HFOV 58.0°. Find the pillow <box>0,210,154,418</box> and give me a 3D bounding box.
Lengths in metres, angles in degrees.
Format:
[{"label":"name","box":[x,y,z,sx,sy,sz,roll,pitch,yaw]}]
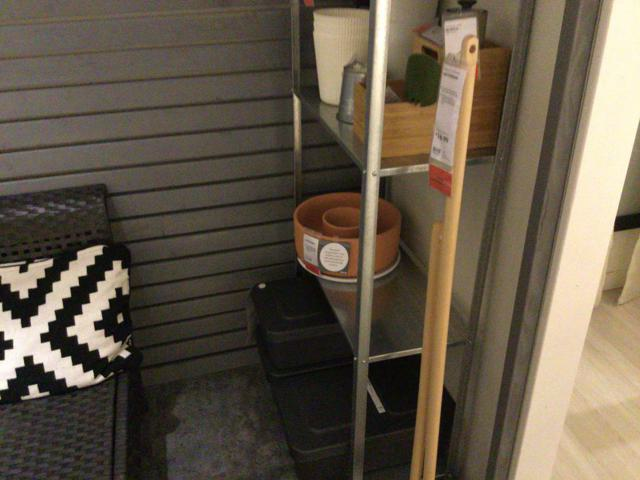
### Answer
[{"label":"pillow","box":[-0.810,0.200,1.450,0.700,0.340,0.340,-10,27,-12]}]
